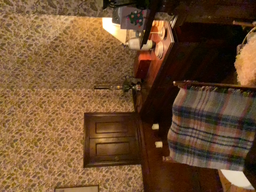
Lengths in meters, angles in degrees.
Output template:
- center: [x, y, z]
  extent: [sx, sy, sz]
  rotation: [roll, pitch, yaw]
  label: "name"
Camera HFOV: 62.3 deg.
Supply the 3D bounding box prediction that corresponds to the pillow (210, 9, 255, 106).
- center: [0.880, -0.270, 1.520]
  extent: [0.430, 0.220, 0.530]
  rotation: [-101, 15, -46]
  label: "pillow"
